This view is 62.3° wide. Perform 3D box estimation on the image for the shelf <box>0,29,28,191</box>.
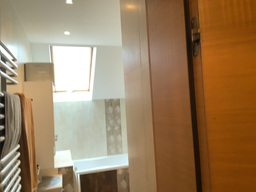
[{"bbox_3d":[-0.670,0.200,1.100,0.160,0.920,0.710,-2,-2,-18],"label":"shelf"}]
